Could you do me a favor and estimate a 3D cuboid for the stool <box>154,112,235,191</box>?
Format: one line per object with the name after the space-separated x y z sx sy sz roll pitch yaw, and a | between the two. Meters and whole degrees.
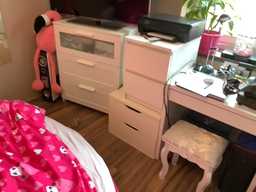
0.480 0.450 1.600 0.400 0.440 0.320 26 37 33 | stool
